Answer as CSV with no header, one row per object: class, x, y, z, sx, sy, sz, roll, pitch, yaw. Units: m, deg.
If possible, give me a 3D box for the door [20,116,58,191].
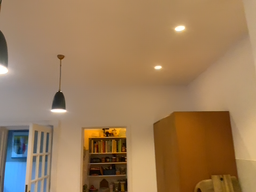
door,-1.270,1.400,3.060,0.080,2.100,1.050,-1,-13,-1
